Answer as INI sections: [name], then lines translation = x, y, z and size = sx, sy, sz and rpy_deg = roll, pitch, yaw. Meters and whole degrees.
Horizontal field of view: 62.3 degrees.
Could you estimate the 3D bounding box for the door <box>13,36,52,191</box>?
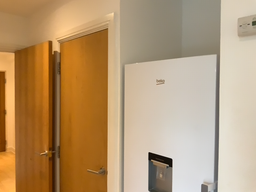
[door]
translation = -0.990, 0.520, 2.150
size = 0.040, 2.080, 0.880
rpy_deg = -2, 3, -45
